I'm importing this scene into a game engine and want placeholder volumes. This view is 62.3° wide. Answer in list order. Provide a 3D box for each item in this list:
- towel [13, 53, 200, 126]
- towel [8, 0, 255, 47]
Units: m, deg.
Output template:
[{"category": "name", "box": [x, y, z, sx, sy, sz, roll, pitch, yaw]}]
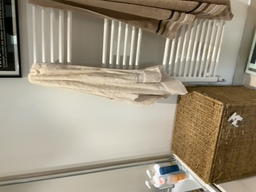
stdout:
[{"category": "towel", "box": [-0.080, -0.050, 1.200, 0.200, 0.970, 0.310, -139, 51, -62]}, {"category": "towel", "box": [0.120, -0.490, 1.120, 0.220, 1.310, 0.350, -140, 52, -63]}]
